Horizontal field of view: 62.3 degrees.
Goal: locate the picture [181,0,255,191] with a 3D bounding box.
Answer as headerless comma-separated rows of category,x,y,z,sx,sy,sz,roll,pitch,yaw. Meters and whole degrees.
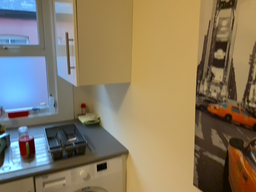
picture,0.390,-0.060,0.650,0.040,0.990,0.510,-6,14,-28
